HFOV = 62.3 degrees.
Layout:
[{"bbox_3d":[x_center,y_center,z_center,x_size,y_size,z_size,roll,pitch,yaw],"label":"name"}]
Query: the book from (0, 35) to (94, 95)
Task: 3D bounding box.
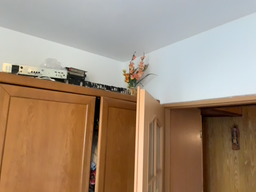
[{"bbox_3d":[-0.630,-0.180,1.590,0.550,0.220,0.530,9,-12,-36],"label":"book"}]
